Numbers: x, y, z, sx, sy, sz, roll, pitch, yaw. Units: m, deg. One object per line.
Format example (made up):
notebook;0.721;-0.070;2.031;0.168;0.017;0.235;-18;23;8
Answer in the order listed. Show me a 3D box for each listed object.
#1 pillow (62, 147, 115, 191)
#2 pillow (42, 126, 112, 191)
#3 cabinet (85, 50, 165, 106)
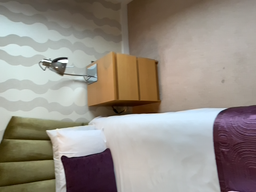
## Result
pillow;-0.270;0.600;1.540;0.160;0.380;0.420;-4;80;30
pillow;-0.390;0.580;1.720;0.240;0.510;0.620;-7;84;29
cabinet;-0.040;-0.130;2.040;0.520;0.550;0.410;-11;80;53
